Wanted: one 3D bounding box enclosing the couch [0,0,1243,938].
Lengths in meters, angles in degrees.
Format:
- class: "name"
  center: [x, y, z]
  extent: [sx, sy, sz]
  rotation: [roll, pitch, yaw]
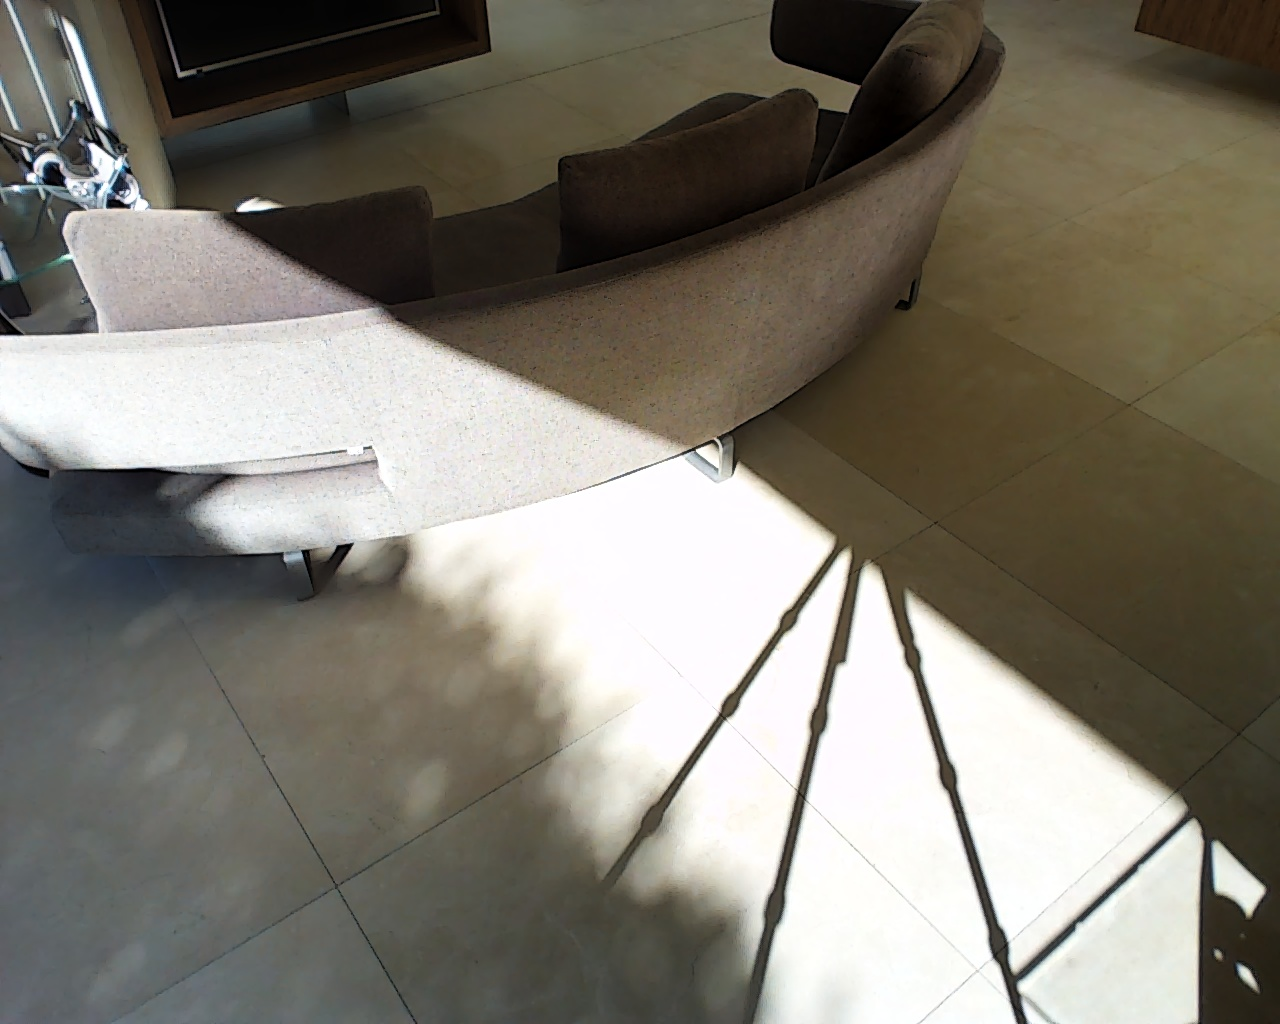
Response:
- class: "couch"
  center: [-0.260, -0.610, 2.400]
  extent: [2.930, 0.800, 1.430]
  rotation: [-27, 47, -26]
